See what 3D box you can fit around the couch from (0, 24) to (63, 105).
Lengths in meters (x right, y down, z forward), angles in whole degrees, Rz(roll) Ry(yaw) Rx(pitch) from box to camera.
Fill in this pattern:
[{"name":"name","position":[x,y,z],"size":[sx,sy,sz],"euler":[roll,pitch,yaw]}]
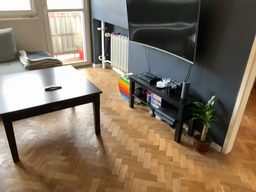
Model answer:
[{"name":"couch","position":[-1.670,-0.500,3.030],"size":[1.100,0.840,0.920],"euler":[-15,32,-31]}]

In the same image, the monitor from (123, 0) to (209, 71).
[{"name":"monitor","position":[0.310,-0.800,2.320],"size":[0.080,0.640,1.110],"euler":[-16,40,-31]}]

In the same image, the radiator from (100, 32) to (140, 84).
[{"name":"radiator","position":[-0.180,-0.710,3.790],"size":[0.230,0.690,0.890],"euler":[-10,30,-32]}]
